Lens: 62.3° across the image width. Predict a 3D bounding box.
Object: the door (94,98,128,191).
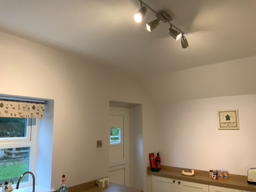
[{"bbox_3d":[-0.260,1.090,3.520,0.030,2.060,0.790,-7,-10,39],"label":"door"}]
